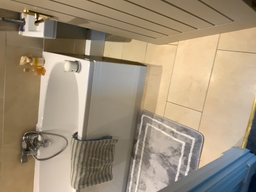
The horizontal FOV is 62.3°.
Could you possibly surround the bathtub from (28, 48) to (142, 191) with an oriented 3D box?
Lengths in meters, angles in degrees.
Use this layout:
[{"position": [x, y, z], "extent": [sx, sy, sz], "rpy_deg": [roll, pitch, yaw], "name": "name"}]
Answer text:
[{"position": [-0.460, 0.470, 1.980], "extent": [0.750, 0.580, 1.680], "rpy_deg": [17, 104, 43], "name": "bathtub"}]
